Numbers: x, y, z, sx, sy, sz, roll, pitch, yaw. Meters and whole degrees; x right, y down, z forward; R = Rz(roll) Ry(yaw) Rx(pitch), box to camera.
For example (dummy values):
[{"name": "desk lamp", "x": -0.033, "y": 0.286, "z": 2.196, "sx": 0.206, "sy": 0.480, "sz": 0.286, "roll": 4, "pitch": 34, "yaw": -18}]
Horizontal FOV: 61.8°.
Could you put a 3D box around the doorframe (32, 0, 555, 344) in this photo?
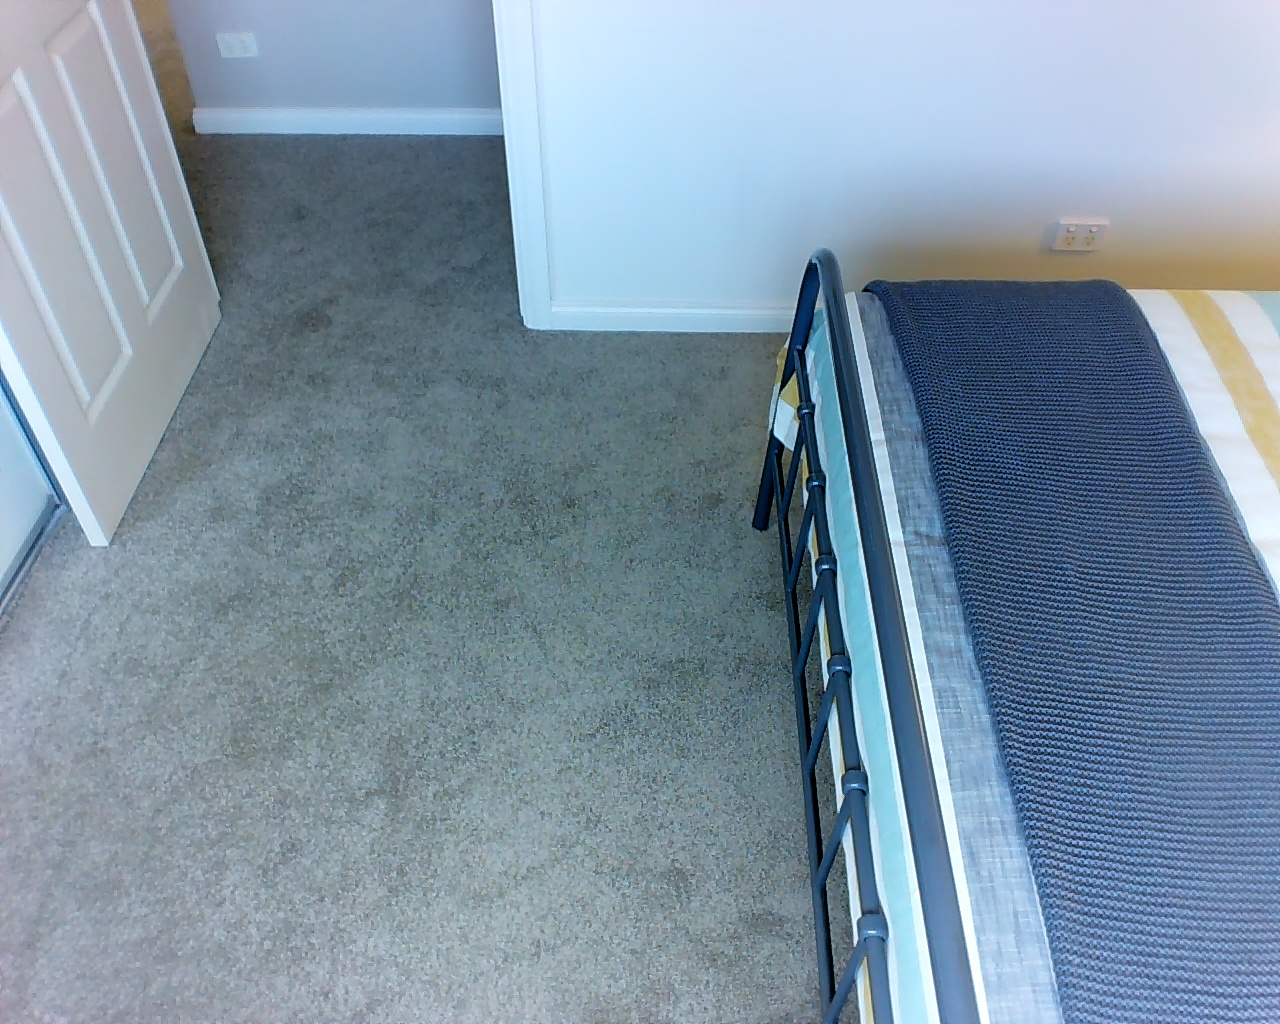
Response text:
[{"name": "doorframe", "x": -0.710, "y": -1.240, "z": 1.990, "sx": 0.980, "sy": 2.110, "sz": 0.150, "roll": 1, "pitch": 44, "yaw": 1}]

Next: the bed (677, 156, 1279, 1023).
[{"name": "bed", "x": 1.170, "y": 0.270, "z": 1.410, "sx": 2.180, "sy": 0.700, "sz": 1.800, "roll": 0, "pitch": 44, "yaw": 0}]
